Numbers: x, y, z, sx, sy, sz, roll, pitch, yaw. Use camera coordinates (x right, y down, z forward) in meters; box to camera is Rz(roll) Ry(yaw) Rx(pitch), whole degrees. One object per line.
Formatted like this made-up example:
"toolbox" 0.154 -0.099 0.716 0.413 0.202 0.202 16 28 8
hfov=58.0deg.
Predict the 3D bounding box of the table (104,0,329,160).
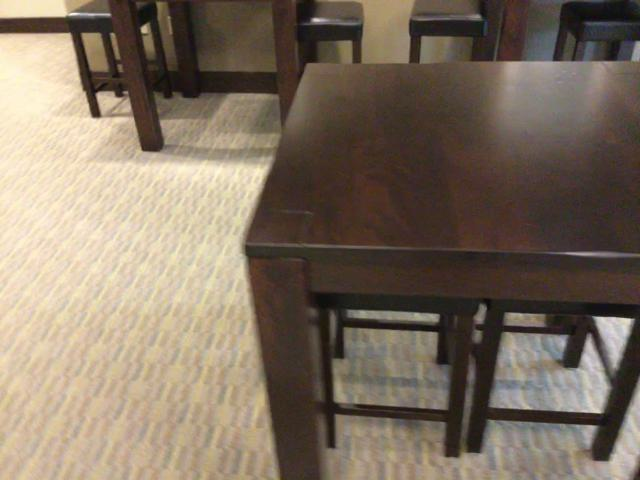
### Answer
"table" -0.480 -1.120 3.230 0.930 1.000 0.960 2 35 7

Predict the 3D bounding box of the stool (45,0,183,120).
"stool" -1.200 -1.160 3.500 0.460 0.680 0.570 2 35 7

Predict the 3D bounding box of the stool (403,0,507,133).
"stool" 0.740 -1.050 3.340 0.490 0.660 0.610 2 35 7

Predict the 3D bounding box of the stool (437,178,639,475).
"stool" 0.580 0.230 1.580 0.450 0.650 0.450 2 35 7
